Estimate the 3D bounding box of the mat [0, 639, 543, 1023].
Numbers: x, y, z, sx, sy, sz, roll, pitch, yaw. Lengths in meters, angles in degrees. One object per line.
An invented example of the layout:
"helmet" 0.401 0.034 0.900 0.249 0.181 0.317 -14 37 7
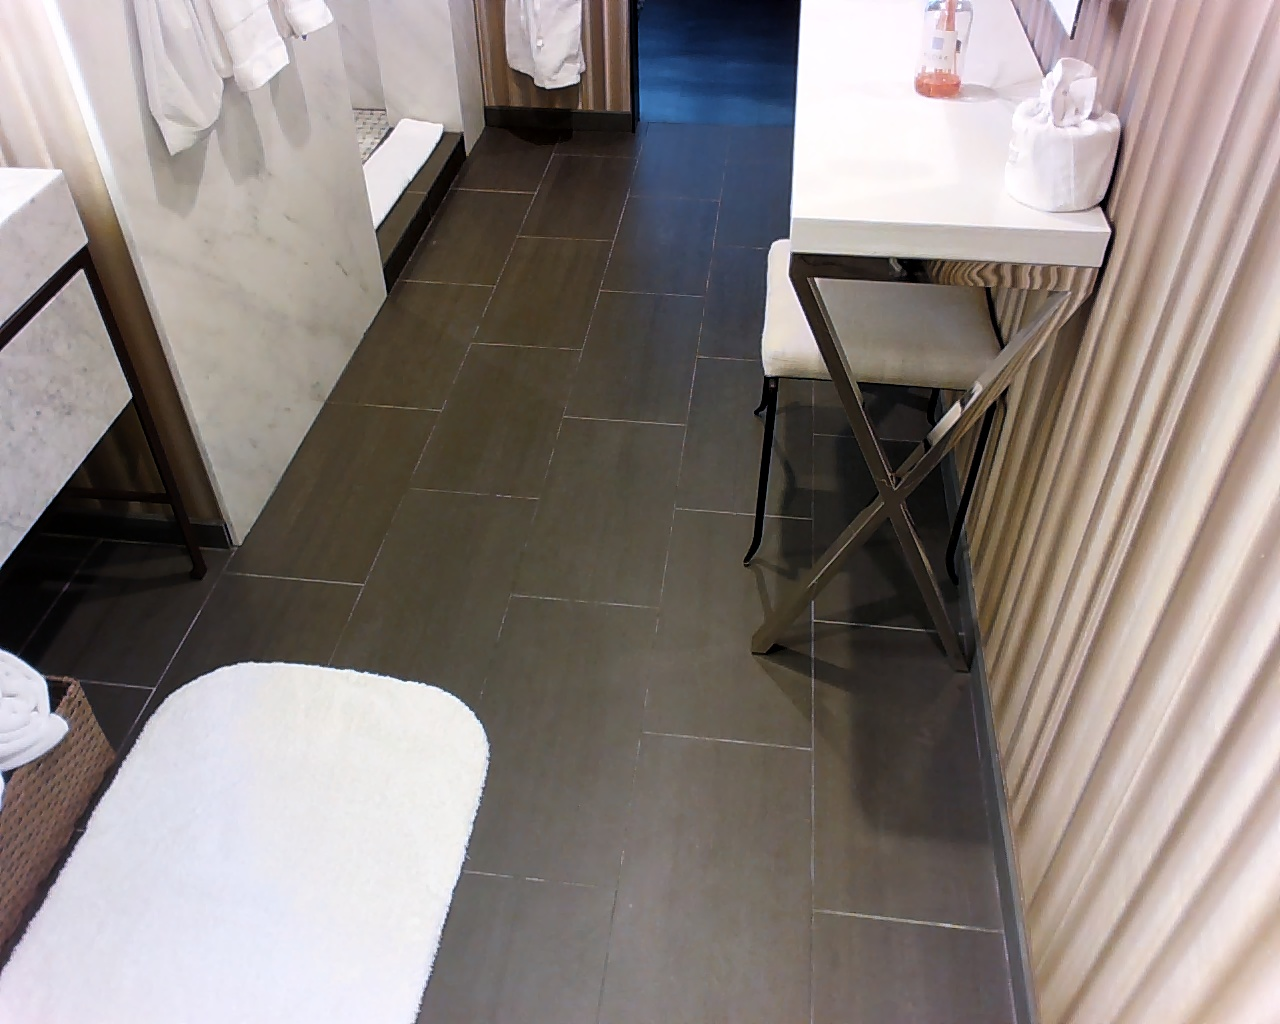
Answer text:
"mat" -0.580 0.590 1.690 0.680 0.030 0.940 5 42 6
